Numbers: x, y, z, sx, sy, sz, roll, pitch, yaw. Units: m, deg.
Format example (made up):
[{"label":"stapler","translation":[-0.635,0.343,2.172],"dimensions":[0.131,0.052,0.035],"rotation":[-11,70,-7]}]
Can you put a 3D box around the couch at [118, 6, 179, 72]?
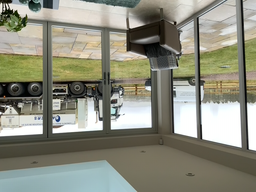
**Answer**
[{"label":"couch","translation":[0.390,-0.920,3.750],"dimensions":[0.750,0.820,0.900],"rotation":[-2,177,31]}]
